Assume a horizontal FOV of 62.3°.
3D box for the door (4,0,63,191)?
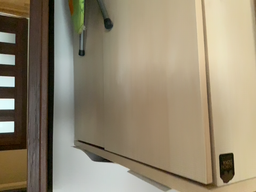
[{"bbox_3d":[-0.320,-0.560,0.840,0.100,2.010,0.780,1,175,-19],"label":"door"}]
